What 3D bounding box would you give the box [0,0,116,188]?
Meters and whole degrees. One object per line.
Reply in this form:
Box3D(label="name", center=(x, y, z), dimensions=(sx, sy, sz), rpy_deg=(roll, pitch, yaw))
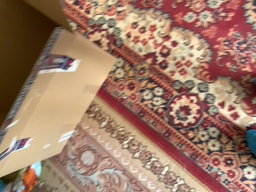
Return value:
Box3D(label="box", center=(-0.490, -0.040, 0.880), dimensions=(0.460, 0.530, 0.650), rpy_deg=(35, 98, 13))
